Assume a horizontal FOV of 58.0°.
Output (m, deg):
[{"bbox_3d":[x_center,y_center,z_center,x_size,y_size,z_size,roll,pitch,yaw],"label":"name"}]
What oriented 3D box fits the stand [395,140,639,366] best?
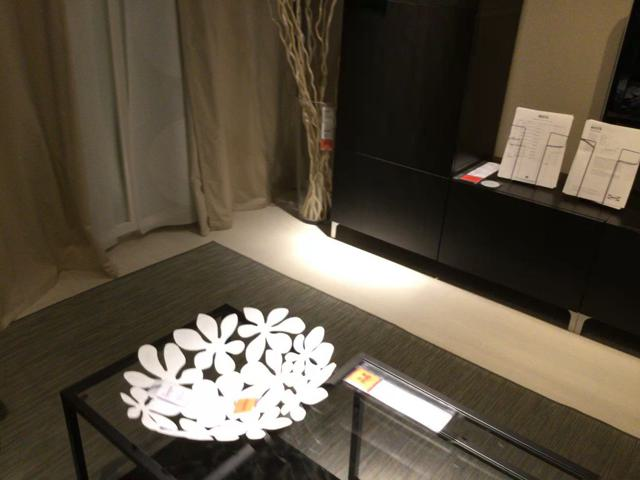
[{"bbox_3d":[1.230,0.120,2.010,1.970,0.490,0.500,21,32,37],"label":"stand"}]
